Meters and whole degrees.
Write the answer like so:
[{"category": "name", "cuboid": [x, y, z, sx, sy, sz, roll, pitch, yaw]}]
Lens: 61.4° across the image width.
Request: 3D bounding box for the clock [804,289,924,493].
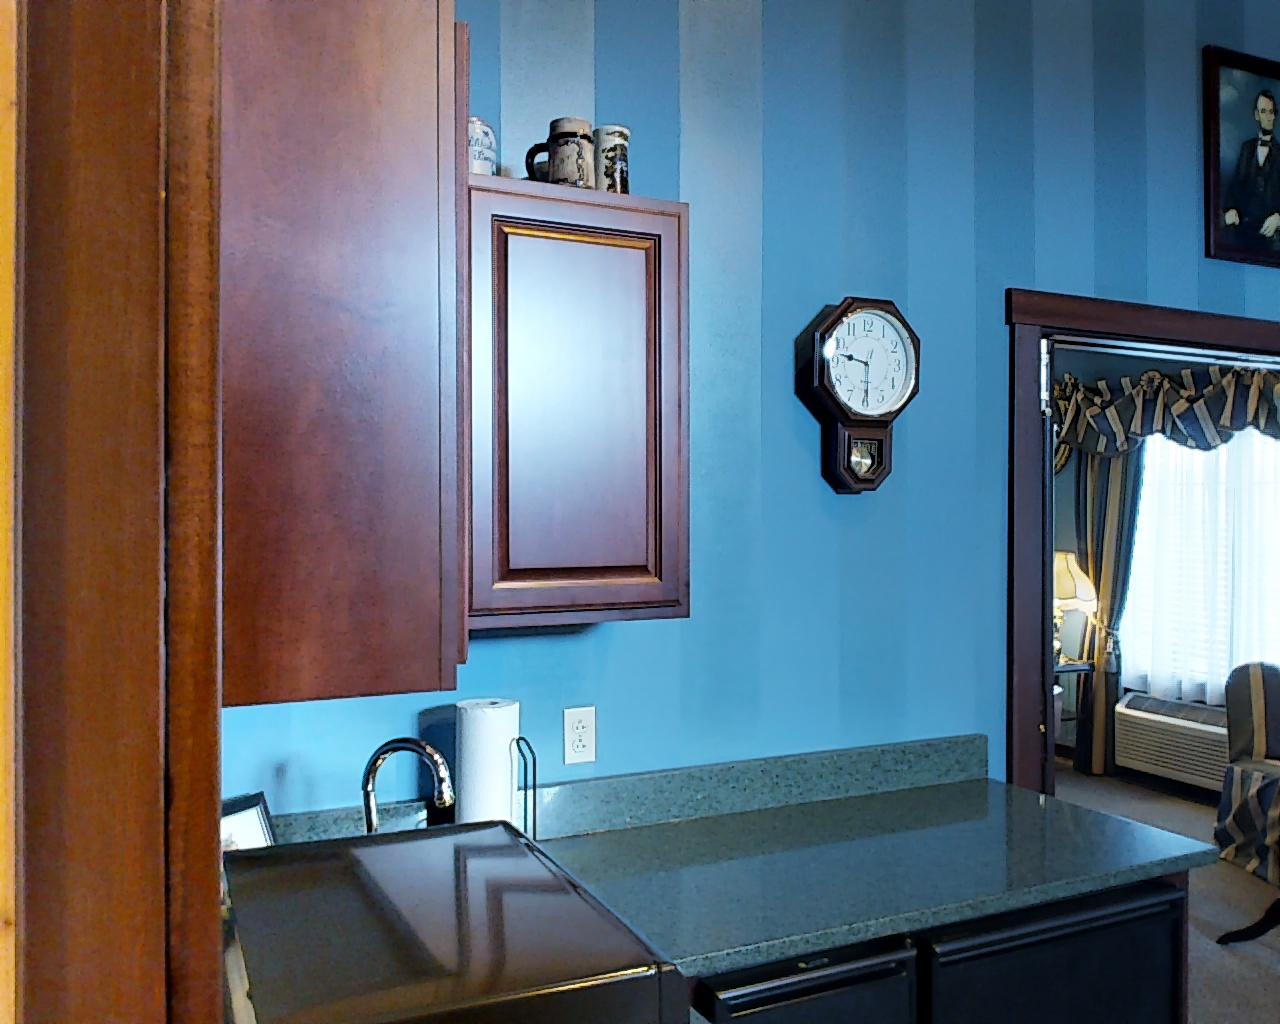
[{"category": "clock", "cuboid": [0.520, -0.270, 2.490, 0.280, 0.450, 0.080, 0, 0, -26]}]
